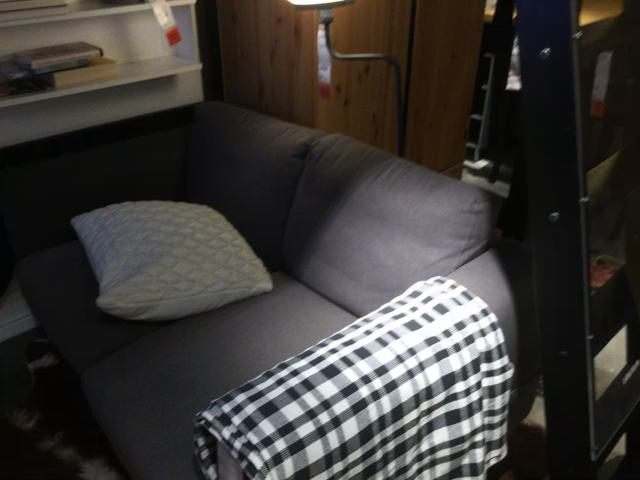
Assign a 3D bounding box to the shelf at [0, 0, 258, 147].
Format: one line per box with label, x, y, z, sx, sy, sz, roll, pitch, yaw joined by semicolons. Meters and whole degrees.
shelf;-0.690;-0.770;1.800;0.930;0.710;0.310;-24;36;-35
